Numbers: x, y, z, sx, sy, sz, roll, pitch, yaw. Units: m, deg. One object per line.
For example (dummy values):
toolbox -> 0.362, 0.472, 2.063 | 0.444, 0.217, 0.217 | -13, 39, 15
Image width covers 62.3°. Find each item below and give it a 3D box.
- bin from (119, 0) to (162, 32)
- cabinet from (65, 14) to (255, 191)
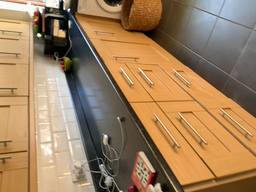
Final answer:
bin -> 0.130, -0.960, 2.400 | 0.320, 0.300, 0.340 | -122, 39, -48
cabinet -> 0.100, -0.060, 1.850 | 2.250, 0.910, 0.600 | -124, 41, -49
